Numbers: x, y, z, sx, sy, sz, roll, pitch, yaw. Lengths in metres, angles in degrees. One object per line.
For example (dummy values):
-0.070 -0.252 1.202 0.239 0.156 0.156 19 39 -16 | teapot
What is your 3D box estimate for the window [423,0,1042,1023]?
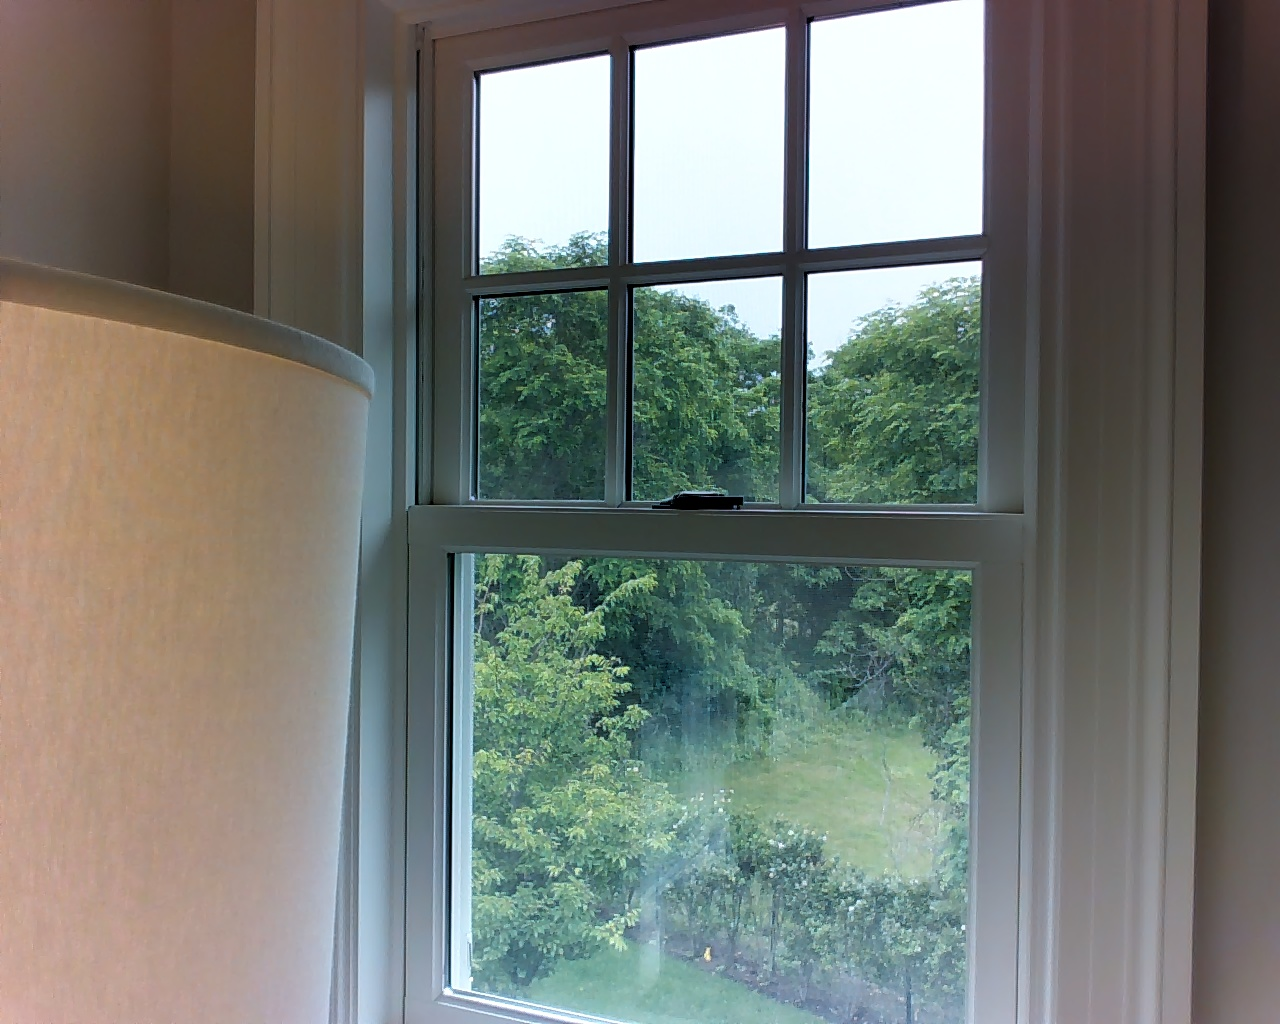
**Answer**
0.070 0.030 1.120 0.640 1.190 0.070 1 0 22 | window
